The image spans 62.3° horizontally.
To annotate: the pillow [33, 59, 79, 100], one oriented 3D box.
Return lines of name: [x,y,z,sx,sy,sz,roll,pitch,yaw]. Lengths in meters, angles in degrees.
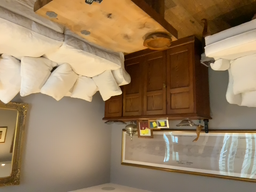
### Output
pillow: [-0.980,-0.200,2.890,0.470,0.420,0.380,-8,167,41]
